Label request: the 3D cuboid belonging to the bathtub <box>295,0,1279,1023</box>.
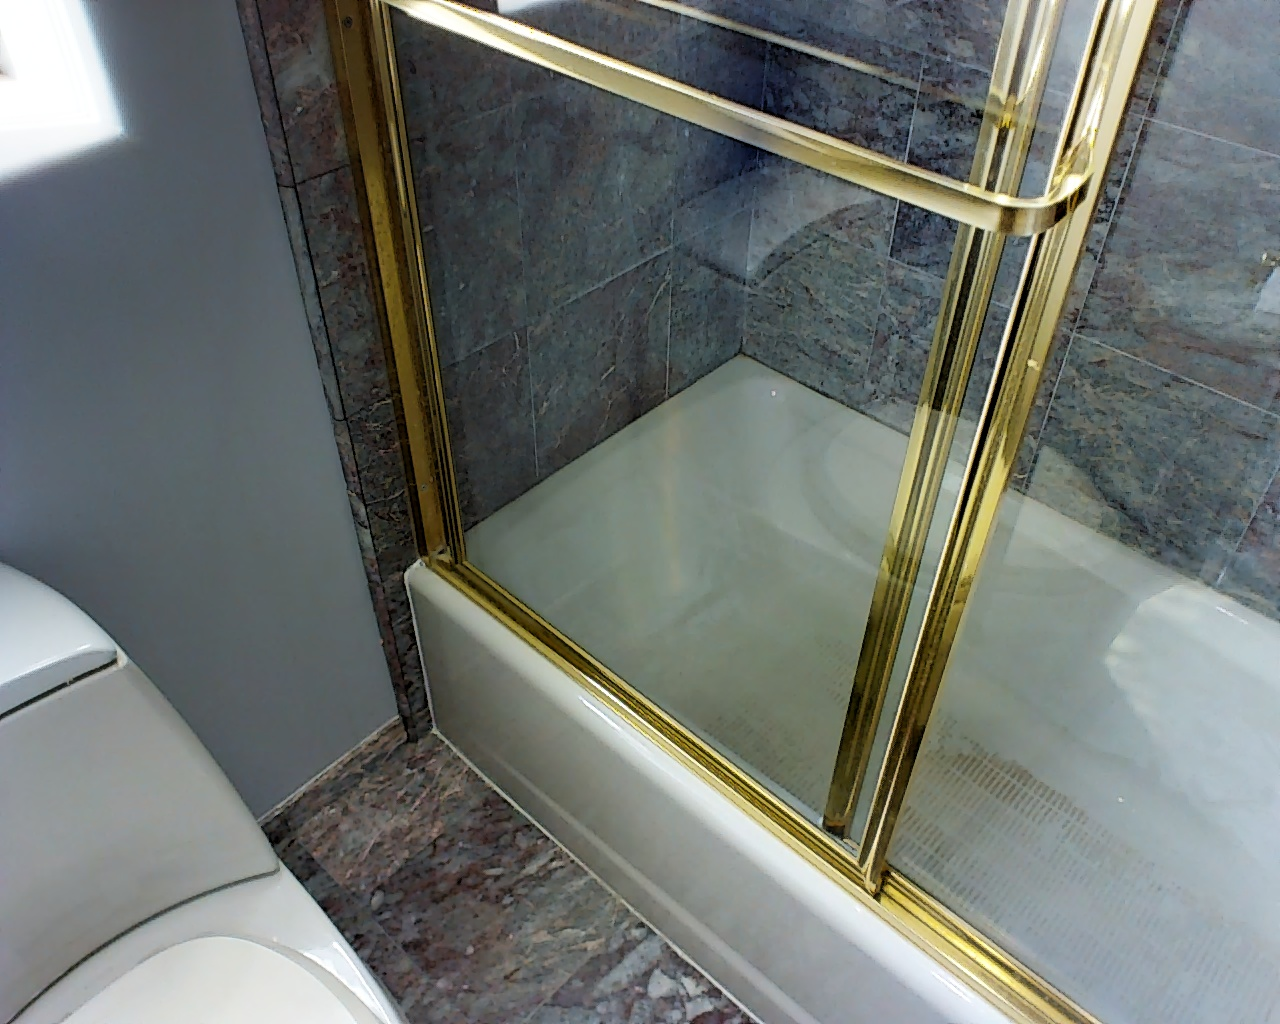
[{"bbox_3d":[0.450,0.020,1.190,1.430,1.330,0.770,33,51,30],"label":"bathtub"}]
